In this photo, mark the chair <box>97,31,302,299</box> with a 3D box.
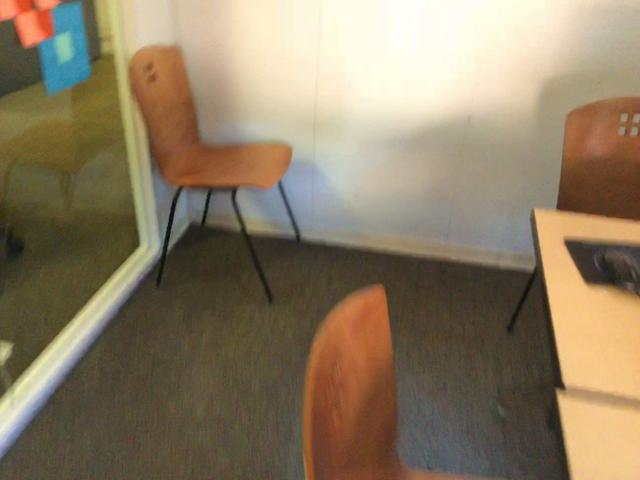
[{"bbox_3d":[-0.390,-0.300,2.190,0.510,0.820,0.530,8,31,12],"label":"chair"}]

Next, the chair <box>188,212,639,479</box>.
[{"bbox_3d":[0.220,0.470,0.900,0.600,0.830,0.480,8,31,12],"label":"chair"}]
